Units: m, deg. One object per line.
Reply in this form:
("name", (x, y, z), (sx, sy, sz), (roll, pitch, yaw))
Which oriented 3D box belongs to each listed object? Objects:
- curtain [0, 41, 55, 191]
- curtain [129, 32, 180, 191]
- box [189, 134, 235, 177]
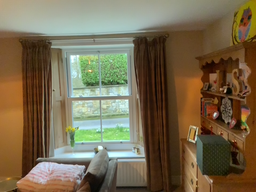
("curtain", (-1.440, 0.380, 3.080), (0.540, 2.260, 0.270), (-1, 5, 1))
("curtain", (0.390, 0.280, 3.110), (0.680, 2.310, 0.250), (-1, 5, 3))
("box", (0.740, 0.520, 1.910), (0.280, 0.270, 0.320), (-2, 5, -1))
